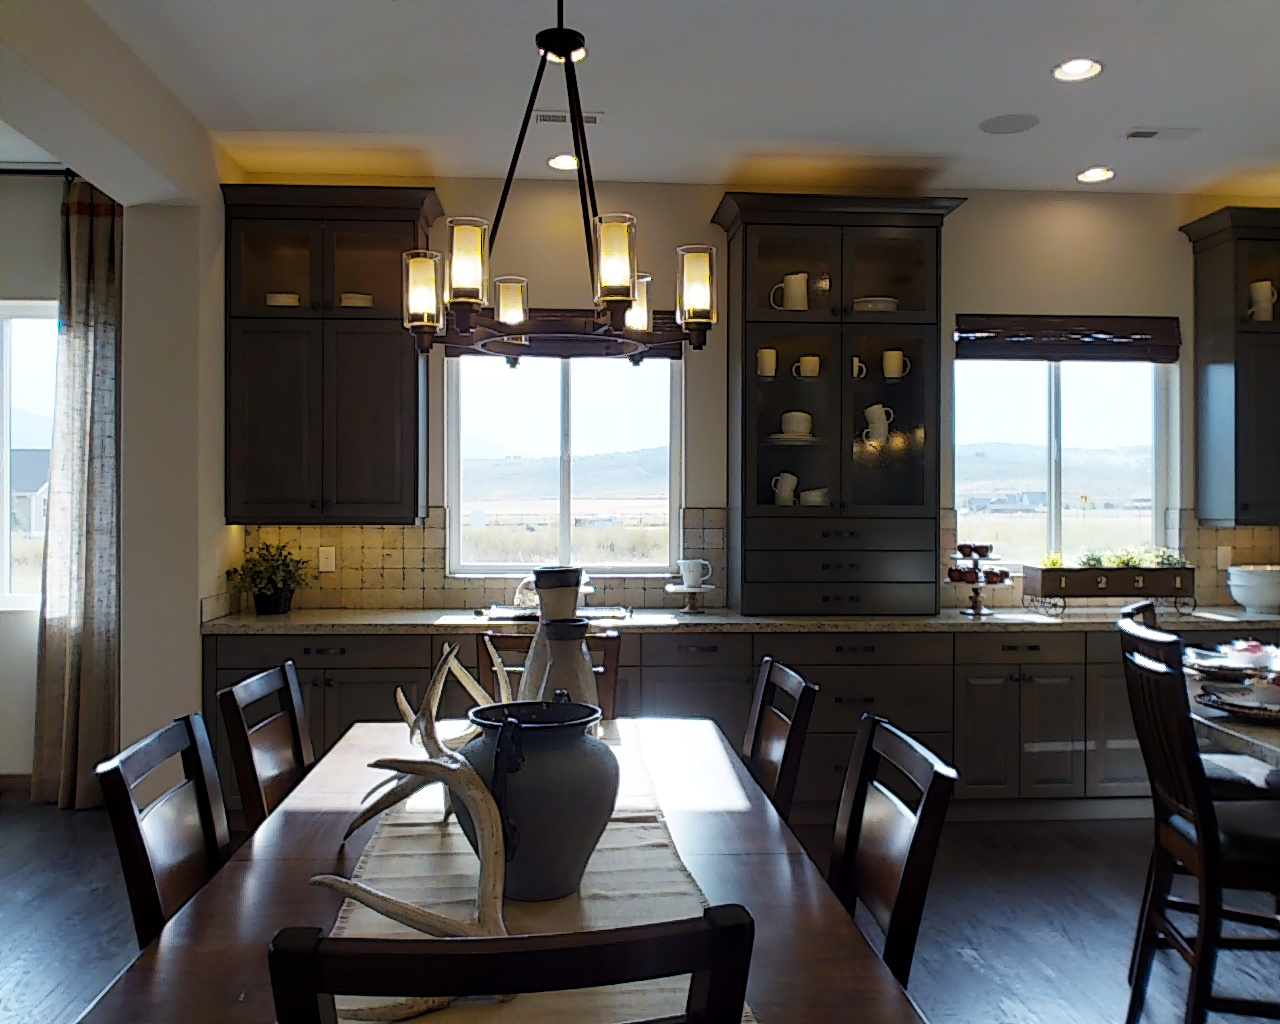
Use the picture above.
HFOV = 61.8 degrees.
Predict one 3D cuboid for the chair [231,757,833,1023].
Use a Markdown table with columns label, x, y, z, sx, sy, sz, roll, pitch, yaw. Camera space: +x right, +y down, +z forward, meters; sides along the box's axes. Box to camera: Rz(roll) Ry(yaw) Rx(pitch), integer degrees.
| label | x | y | z | sx | sy | sz | roll | pitch | yaw |
| --- | --- | --- | --- | --- | --- | --- | --- | --- | --- |
| chair | -0.120 | 0.880 | 1.320 | 0.550 | 0.990 | 0.680 | 0 | 0 | -5 |

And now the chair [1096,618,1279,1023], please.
| label | x | y | z | sx | sy | sz | roll | pitch | yaw |
| --- | --- | --- | --- | --- | --- | --- | --- | --- | --- |
| chair | 1.520 | 0.840 | 2.680 | 0.600 | 1.090 | 0.510 | 0 | 0 | 11 |

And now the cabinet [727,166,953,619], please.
| label | x | y | z | sx | sy | sz | roll | pitch | yaw |
| --- | --- | --- | --- | --- | --- | --- | --- | --- | --- |
| cabinet | 0.950 | -0.550 | 5.180 | 1.000 | 2.090 | 0.410 | 0 | 0 | -5 |

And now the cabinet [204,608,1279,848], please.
| label | x | y | z | sx | sy | sz | roll | pitch | yaw |
| --- | --- | --- | --- | --- | --- | --- | --- | --- | --- |
| cabinet | 1.210 | 0.950 | 5.030 | 6.130 | 0.910 | 0.630 | 0 | 0 | -5 |

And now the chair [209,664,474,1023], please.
| label | x | y | z | sx | sy | sz | roll | pitch | yaw |
| --- | --- | --- | --- | --- | --- | --- | --- | --- | --- |
| chair | -0.660 | 0.880 | 2.480 | 0.510 | 0.980 | 0.480 | 0 | 0 | -5 |

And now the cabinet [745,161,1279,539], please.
| label | x | y | z | sx | sy | sz | roll | pitch | yaw |
| --- | --- | --- | --- | --- | --- | --- | --- | --- | --- |
| cabinet | 1.950 | -0.740 | 5.230 | 2.830 | 1.730 | 0.430 | 0 | 0 | -5 |

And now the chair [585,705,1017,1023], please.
| label | x | y | z | sx | sy | sz | roll | pitch | yaw |
| --- | --- | --- | --- | --- | --- | --- | --- | --- | --- |
| chair | 0.220 | 0.880 | 1.820 | 0.610 | 0.990 | 0.580 | 0 | 0 | -5 |

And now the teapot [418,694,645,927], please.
| label | x | y | z | sx | sy | sz | roll | pitch | yaw |
| --- | --- | --- | --- | --- | --- | --- | --- | --- | --- |
| teapot | -0.170 | 0.480 | 1.800 | 0.340 | 0.280 | 0.390 | 0 | 0 | -2 |

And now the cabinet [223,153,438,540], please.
| label | x | y | z | sx | sy | sz | roll | pitch | yaw |
| --- | --- | --- | --- | --- | --- | --- | --- | --- | --- |
| cabinet | -1.430 | -0.740 | 5.030 | 0.900 | 1.730 | 0.420 | 0 | 0 | -5 |

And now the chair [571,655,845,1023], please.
| label | x | y | z | sx | sy | sz | roll | pitch | yaw |
| --- | --- | --- | --- | --- | --- | --- | --- | --- | --- |
| chair | 0.130 | 0.880 | 2.550 | 0.580 | 1.000 | 0.540 | 0 | 0 | -5 |
